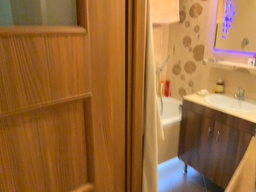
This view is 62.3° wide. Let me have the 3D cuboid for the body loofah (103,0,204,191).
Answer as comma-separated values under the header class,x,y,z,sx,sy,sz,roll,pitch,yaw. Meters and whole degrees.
class,x,y,z,sx,sy,sz,roll,pitch,yaw
body loofah,0.100,0.160,1.210,0.310,1.430,0.370,-11,21,-33
